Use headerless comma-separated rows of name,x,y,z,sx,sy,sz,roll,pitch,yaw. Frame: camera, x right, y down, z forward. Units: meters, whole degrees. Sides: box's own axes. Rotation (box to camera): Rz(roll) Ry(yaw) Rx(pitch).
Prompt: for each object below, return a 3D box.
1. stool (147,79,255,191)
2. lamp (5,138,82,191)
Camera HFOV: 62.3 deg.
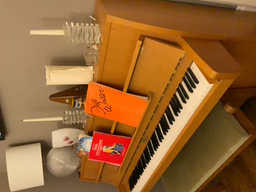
stool,0.560,0.350,1.540,0.920,0.480,0.370,110,147,-43
lamp,-0.650,0.540,1.670,0.340,0.510,0.190,111,146,-45
